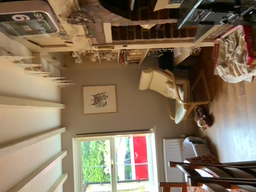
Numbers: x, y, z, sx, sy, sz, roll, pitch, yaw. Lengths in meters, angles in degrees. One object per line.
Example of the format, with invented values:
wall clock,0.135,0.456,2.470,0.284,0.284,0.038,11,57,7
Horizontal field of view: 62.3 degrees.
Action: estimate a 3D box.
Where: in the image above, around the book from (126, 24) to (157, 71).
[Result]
book,0.170,-0.720,3.450,1.270,0.330,0.270,111,157,-80
